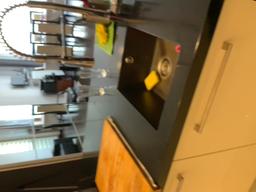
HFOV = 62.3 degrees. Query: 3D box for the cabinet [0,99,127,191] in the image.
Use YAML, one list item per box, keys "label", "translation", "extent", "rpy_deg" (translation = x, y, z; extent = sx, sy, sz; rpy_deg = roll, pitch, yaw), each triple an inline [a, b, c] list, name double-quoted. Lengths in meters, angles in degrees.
- label: "cabinet"
  translation: [-1.480, 0.700, 3.240]
  extent: [1.540, 2.440, 0.640]
  rpy_deg: [46, 130, 53]
